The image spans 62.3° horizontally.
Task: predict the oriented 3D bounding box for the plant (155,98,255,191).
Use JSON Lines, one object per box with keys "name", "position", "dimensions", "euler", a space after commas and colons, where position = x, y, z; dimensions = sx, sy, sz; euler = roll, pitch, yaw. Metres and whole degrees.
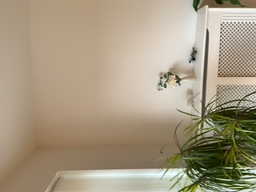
{"name": "plant", "position": [0.900, 0.340, 1.500], "dimensions": [0.650, 1.320, 0.560], "euler": [-98, 8, -82]}
